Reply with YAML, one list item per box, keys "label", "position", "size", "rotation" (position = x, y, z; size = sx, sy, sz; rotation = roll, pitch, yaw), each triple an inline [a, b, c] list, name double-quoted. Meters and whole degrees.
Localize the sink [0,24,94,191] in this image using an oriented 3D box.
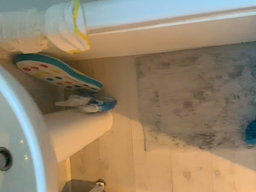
- label: "sink"
  position: [-0.330, 0.170, 0.490]
  size: [0.440, 0.210, 0.560]
  rotation: [-2, 94, 14]
